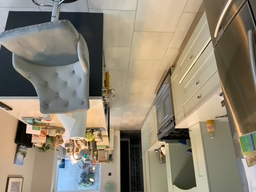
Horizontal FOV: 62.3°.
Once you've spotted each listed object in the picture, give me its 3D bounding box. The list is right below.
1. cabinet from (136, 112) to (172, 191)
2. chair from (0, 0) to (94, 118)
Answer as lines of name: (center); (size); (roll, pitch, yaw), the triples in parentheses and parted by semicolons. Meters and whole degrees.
cabinet: (0.630, 1.640, 5.580); (0.610, 2.230, 1.040); (0, 159, -5)
chair: (-0.610, -0.410, 1.690); (0.440, 1.030, 0.530); (-9, 158, 19)
